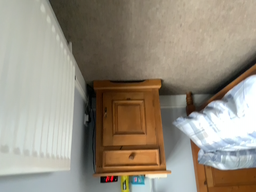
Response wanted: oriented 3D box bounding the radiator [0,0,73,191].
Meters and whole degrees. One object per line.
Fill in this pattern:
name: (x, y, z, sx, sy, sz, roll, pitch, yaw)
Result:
radiator: (-0.240, -0.100, 0.390, 0.050, 0.540, 1.160, -1, 162, -5)
